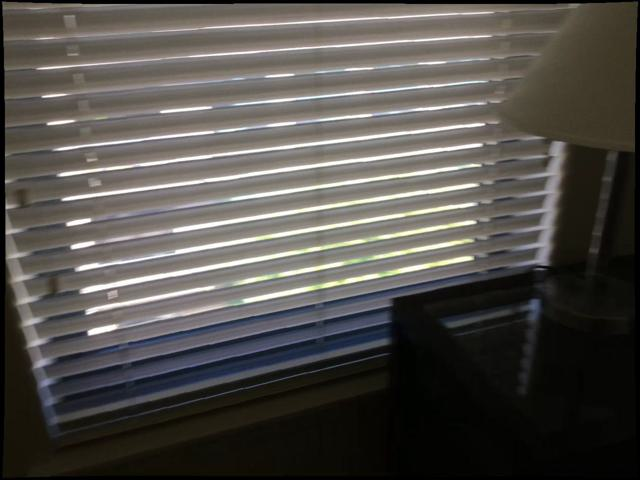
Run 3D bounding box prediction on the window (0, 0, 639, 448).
[{"bbox_3d":[0.080,-0.090,1.180,1.319,0.831,0.100,-9,25,-15],"label":"window"}]
